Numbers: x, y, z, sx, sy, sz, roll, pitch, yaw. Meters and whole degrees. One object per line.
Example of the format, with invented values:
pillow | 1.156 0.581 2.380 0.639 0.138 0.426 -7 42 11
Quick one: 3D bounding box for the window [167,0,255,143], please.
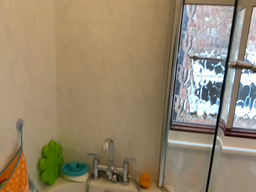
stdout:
window | 0.630 -0.490 1.090 0.710 1.510 0.090 5 14 8
